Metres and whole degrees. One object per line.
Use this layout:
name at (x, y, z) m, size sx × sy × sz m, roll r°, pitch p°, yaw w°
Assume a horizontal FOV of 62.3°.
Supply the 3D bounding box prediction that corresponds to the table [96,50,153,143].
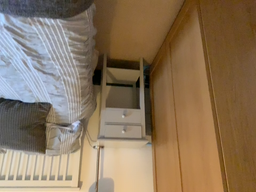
table at (-0.050, 0.020, 1.950) m, size 0.440 × 0.760 × 0.350 m, roll 3°, pitch 160°, yaw -9°
